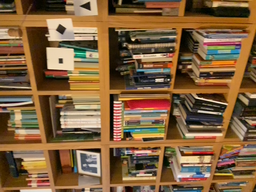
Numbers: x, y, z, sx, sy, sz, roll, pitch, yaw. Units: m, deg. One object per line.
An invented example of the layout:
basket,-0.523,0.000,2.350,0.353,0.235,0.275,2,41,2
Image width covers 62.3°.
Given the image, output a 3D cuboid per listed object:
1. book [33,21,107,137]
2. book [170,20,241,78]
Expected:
book,-0.320,-0.110,1.350,0.300,0.350,0.670,-101,11,-66
book,0.460,-0.310,1.350,0.330,0.270,0.300,-101,11,-65
